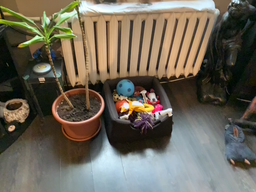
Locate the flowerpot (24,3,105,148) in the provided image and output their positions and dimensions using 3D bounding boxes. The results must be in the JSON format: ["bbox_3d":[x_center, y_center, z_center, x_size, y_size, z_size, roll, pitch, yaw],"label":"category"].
[{"bbox_3d":[-0.350,-0.100,1.340,0.330,0.780,0.430,-8,45,-12],"label":"flowerpot"}]
